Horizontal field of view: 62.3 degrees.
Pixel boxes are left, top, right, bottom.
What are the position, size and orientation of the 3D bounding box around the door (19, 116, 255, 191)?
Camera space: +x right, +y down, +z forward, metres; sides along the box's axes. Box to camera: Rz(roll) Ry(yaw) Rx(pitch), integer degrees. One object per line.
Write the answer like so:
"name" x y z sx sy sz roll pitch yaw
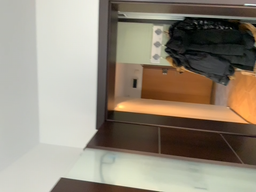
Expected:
"door" 0.760 0.390 1.010 0.800 2.200 0.140 -59 -27 -76
